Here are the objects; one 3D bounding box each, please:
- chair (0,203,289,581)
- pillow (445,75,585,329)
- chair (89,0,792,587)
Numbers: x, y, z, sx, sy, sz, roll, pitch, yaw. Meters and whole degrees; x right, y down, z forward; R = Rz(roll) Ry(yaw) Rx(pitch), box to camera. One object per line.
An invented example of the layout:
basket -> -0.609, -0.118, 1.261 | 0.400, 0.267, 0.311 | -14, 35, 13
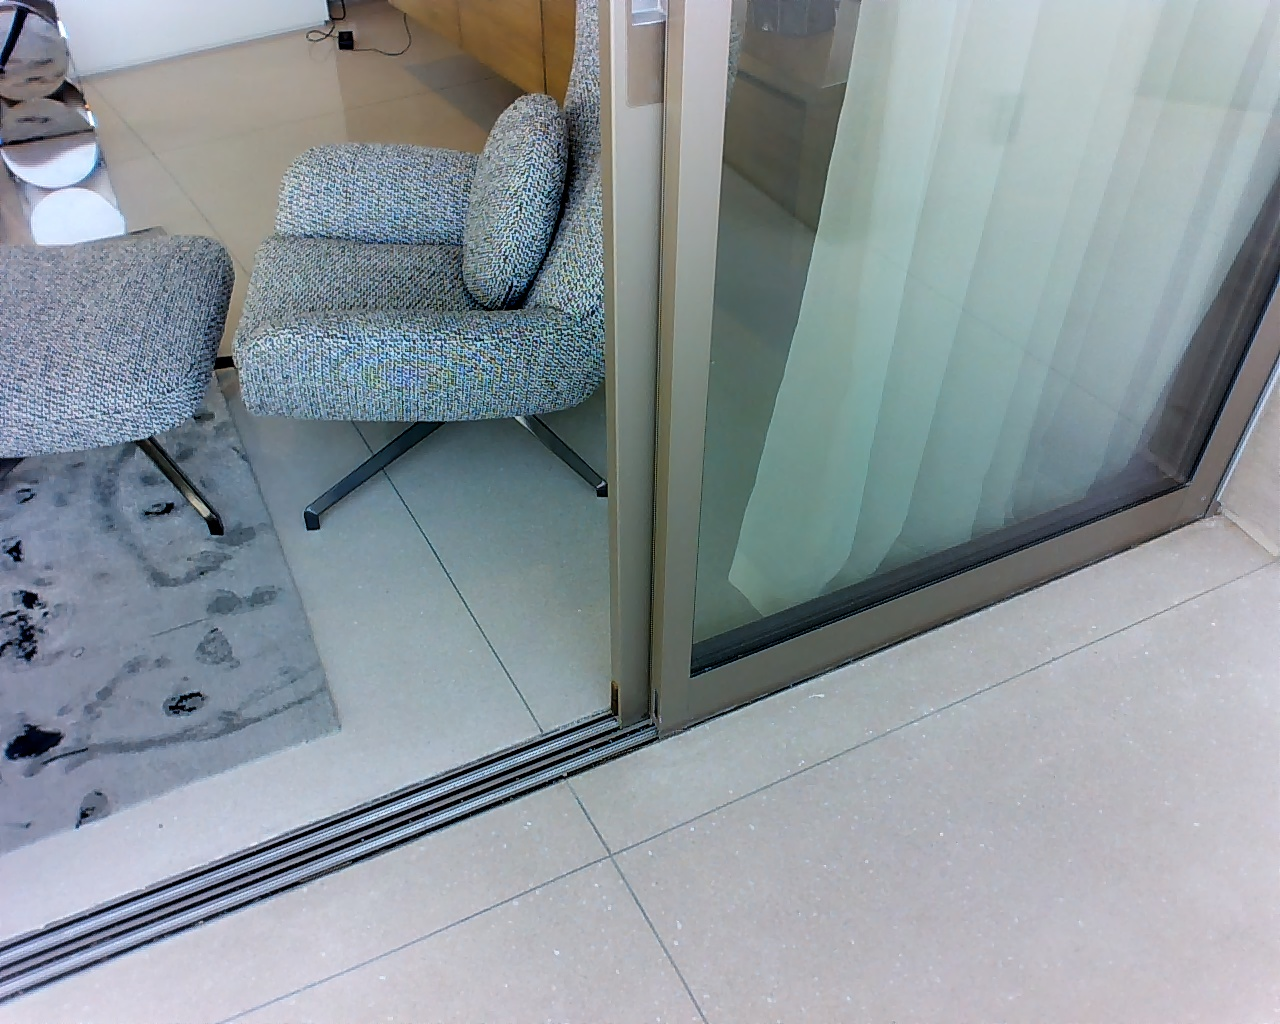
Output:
chair -> -1.200, -0.280, 2.310 | 0.710, 0.420, 0.760 | -5, 42, -6
pillow -> -0.260, -0.620, 2.180 | 0.170, 0.420, 0.460 | -12, 17, -6
chair -> -0.340, -0.540, 2.190 | 1.000, 0.920, 0.910 | -5, 42, -7
